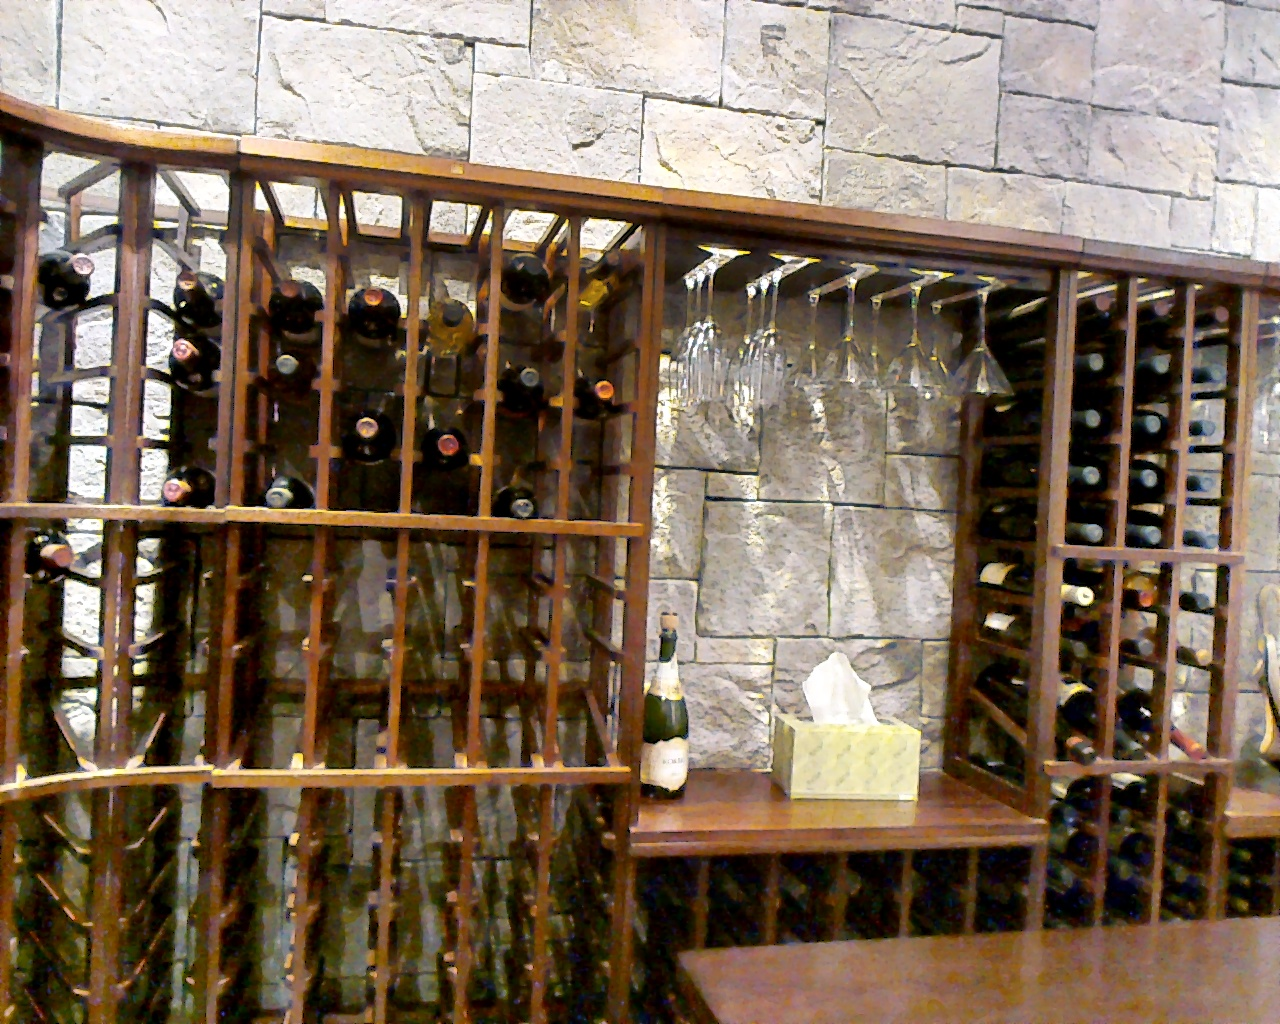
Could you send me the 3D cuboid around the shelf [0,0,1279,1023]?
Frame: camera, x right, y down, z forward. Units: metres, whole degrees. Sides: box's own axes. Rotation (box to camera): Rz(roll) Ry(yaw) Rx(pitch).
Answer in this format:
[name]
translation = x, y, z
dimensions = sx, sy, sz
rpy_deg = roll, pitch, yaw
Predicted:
[shelf]
translation = 1.050, 0.440, 0.820
dimensions = 4.221, 2.060, 2.750
rpy_deg = 3, 1, -14
